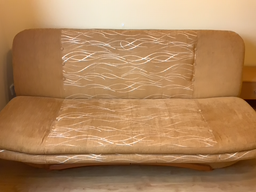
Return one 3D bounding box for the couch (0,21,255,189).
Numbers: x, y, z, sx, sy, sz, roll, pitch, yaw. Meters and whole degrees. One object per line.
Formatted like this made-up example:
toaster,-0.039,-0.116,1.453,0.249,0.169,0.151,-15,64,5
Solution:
couch,0.010,-0.010,1.770,1.940,0.890,1.100,0,34,-3
